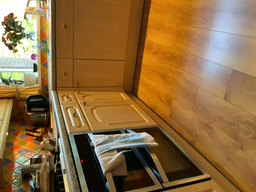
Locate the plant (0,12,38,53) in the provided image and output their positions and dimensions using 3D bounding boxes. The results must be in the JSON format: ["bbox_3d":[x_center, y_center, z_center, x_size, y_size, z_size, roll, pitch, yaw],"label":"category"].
[{"bbox_3d":[-1.240,-0.730,2.450,0.310,0.350,0.390,-135,47,-57],"label":"plant"}]
